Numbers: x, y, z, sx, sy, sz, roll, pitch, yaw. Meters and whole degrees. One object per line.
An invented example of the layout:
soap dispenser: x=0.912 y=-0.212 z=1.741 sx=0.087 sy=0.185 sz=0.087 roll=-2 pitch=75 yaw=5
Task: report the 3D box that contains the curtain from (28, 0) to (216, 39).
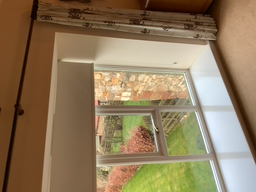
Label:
curtain: x=0.010 y=-0.880 z=2.350 sx=0.130 sy=2.010 sz=0.330 roll=113 pitch=153 yaw=-57
